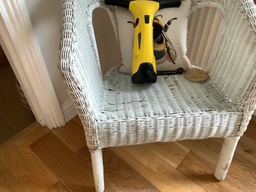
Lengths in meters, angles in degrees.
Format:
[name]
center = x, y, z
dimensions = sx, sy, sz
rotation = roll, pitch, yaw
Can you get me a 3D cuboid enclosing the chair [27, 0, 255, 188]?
[chair]
center = 0.100, -0.100, 0.880
dimensions = 0.620, 0.690, 0.640
rotation = -2, 45, -3
